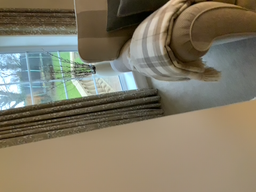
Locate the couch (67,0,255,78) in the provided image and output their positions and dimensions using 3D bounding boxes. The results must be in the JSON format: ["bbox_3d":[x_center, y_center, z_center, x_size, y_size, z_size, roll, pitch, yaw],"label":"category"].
[{"bbox_3d":[0.160,-0.730,1.410,1.030,0.920,1.090,4,101,65],"label":"couch"}]
